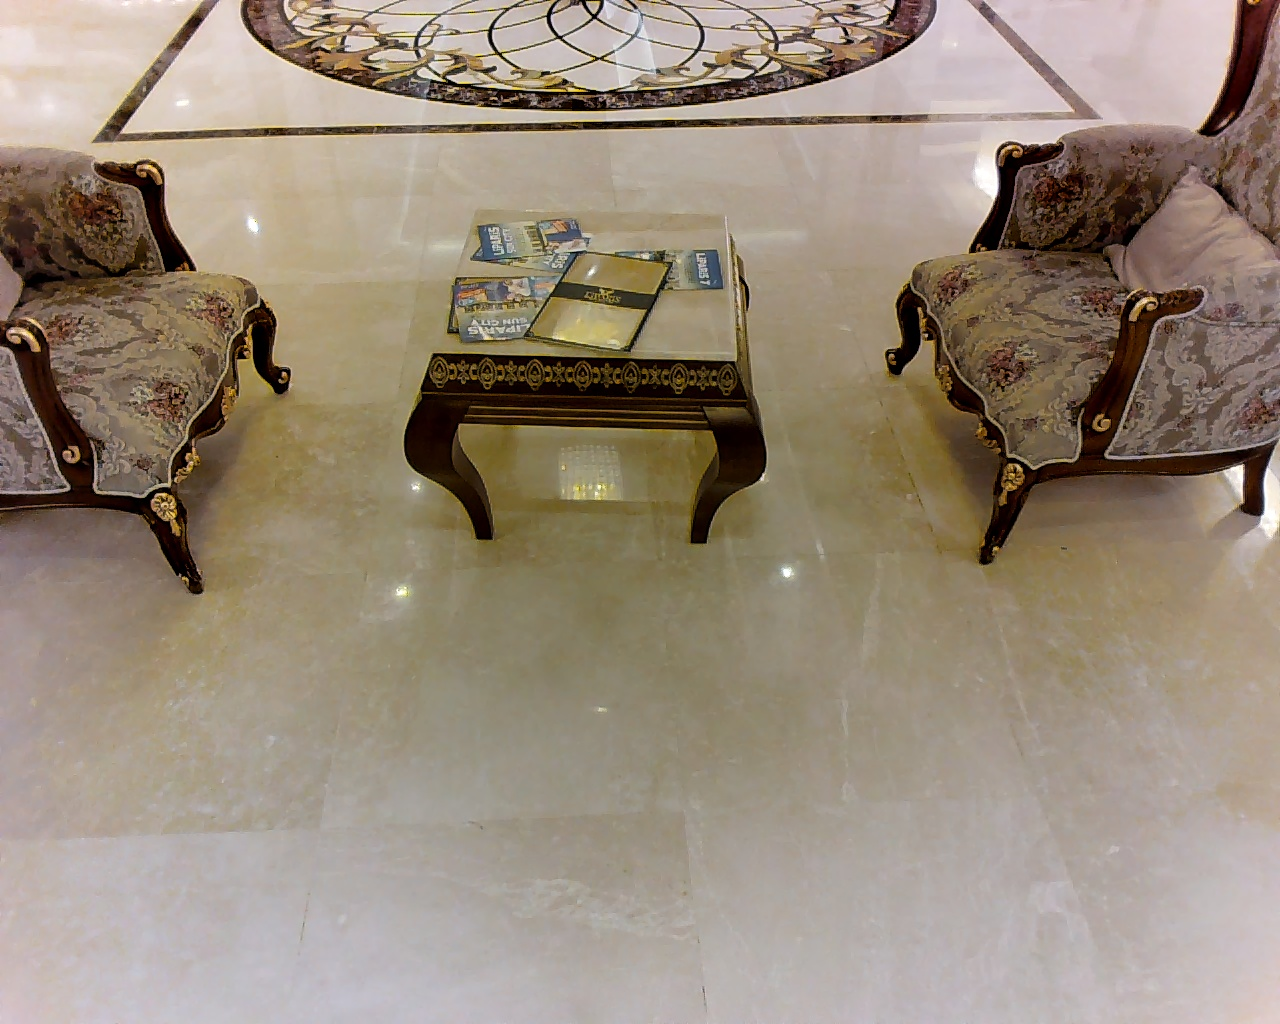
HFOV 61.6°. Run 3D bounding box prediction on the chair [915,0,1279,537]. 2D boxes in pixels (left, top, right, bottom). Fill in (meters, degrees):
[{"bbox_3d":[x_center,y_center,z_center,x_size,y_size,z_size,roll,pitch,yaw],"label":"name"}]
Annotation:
[{"bbox_3d":[1.130,-0.550,2.250,0.780,0.950,0.710,-2,41,-2],"label":"chair"}]
